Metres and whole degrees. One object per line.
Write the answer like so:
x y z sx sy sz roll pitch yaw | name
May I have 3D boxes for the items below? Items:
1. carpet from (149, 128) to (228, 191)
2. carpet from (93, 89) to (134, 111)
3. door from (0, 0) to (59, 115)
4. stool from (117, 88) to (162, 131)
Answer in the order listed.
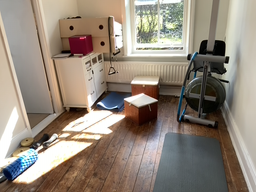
0.510 0.780 1.810 0.640 0.030 1.770 3 23 12 | carpet
-0.220 0.050 3.660 0.530 0.070 0.720 3 23 12 | carpet
-1.580 -0.560 3.090 0.820 1.770 0.160 1 23 7 | door
0.170 0.180 3.080 0.450 0.370 0.460 -22 30 -38 | stool
